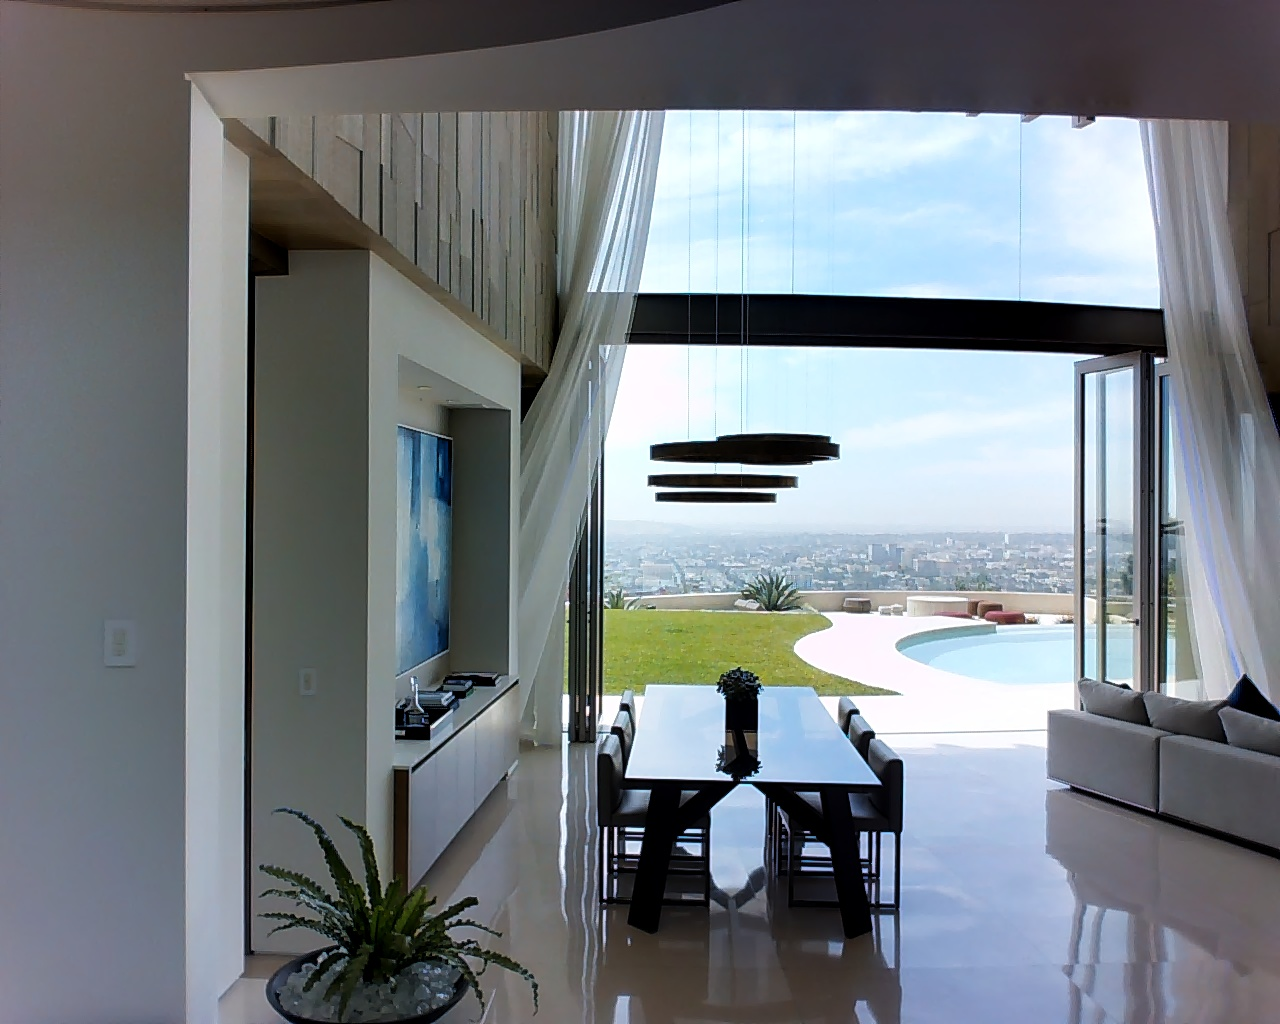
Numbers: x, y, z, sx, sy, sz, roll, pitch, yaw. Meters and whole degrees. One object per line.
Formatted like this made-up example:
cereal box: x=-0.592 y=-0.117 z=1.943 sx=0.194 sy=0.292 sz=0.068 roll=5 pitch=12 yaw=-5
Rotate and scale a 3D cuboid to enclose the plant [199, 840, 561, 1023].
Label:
plant: x=-0.710 y=1.300 z=3.150 sx=0.870 sy=0.460 sz=0.670 roll=0 pitch=0 yaw=3
